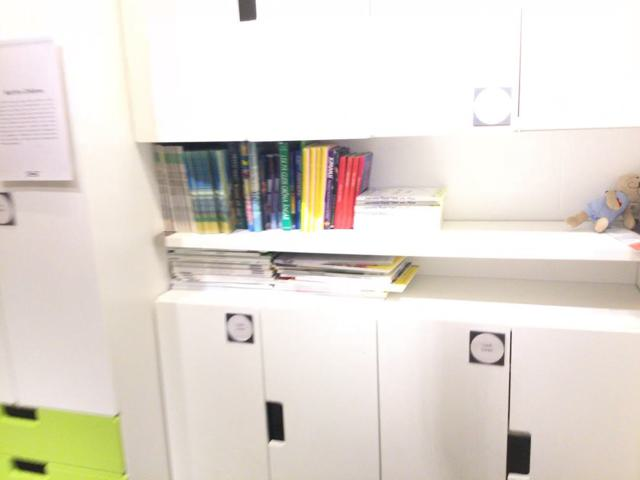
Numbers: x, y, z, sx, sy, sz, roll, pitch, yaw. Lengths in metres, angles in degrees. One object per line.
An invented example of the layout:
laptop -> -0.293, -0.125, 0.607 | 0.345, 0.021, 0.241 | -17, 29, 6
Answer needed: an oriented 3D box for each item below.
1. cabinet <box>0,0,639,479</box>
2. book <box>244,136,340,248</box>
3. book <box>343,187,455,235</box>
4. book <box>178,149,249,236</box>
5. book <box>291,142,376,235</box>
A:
cabinet -> 0.120, 0.110, 1.360 | 2.370, 2.000, 0.650 | 2, 14, 21
book -> -0.060, -0.130, 1.460 | 0.140, 0.240, 0.250 | 2, 14, 21
book -> 0.210, -0.080, 1.500 | 0.250, 0.090, 0.180 | 2, 14, 21
book -> -0.280, -0.130, 1.540 | 0.110, 0.210, 0.140 | 2, 14, 21
book -> 0.040, -0.140, 1.530 | 0.180, 0.220, 0.140 | 2, 14, 21
